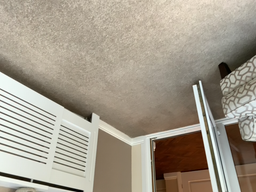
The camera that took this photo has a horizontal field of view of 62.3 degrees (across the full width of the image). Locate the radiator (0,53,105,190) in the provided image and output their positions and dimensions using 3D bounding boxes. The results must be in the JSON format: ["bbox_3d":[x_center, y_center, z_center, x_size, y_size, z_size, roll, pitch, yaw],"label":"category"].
[{"bbox_3d":[-0.860,0.130,1.530,0.120,0.770,1.930,-20,143,29],"label":"radiator"}]

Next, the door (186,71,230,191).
[{"bbox_3d":[0.730,0.890,1.590,0.080,2.080,0.890,-15,145,23],"label":"door"}]
